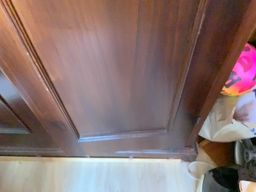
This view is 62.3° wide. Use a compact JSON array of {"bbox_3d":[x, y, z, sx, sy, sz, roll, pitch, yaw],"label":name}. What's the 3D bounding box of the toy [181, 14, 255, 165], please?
[{"bbox_3d":[0.450,0.020,0.900,0.300,0.580,0.370,0,55,2],"label":"toy"}]
